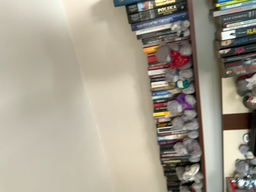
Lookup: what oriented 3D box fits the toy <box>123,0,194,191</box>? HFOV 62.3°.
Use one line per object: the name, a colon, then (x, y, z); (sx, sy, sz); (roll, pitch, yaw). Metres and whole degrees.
toy: (0.230, 0.210, 1.190); (0.250, 0.210, 1.400); (-58, -39, -64)
